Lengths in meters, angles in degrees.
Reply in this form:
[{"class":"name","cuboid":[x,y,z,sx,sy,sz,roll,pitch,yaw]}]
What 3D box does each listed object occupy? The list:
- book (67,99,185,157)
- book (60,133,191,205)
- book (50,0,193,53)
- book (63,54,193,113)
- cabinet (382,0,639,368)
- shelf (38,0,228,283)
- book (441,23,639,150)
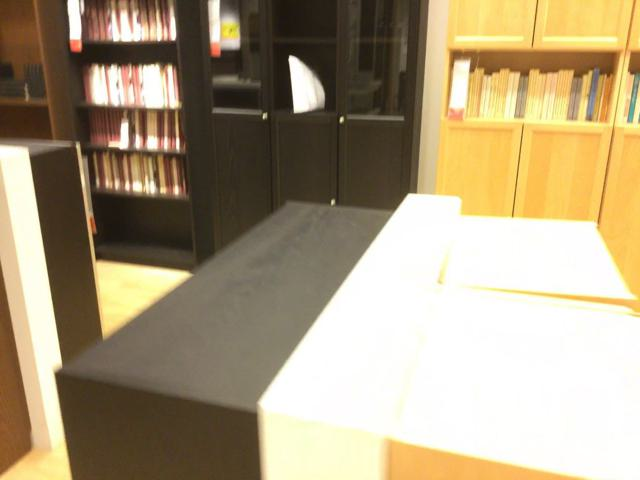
[{"class":"book","cuboid":[-1.180,-0.690,3.530,0.700,0.260,0.110,9,33,15]},{"class":"book","cuboid":[-1.210,-0.450,3.620,0.750,0.310,0.190,9,33,15]},{"class":"book","cuboid":[-1.140,-1.290,3.330,0.720,0.310,0.270,9,33,15]},{"class":"book","cuboid":[-1.160,-0.960,3.520,0.700,0.230,0.250,9,33,15]},{"class":"cabinet","cuboid":[1.250,-0.660,2.700,1.590,2.290,0.710,9,19,15]},{"class":"shelf","cuboid":[-1.120,-0.830,3.580,0.890,1.990,0.590,9,17,15]},{"class":"book","cuboid":[1.300,-0.680,2.570,1.420,0.390,0.440,9,33,15]}]
